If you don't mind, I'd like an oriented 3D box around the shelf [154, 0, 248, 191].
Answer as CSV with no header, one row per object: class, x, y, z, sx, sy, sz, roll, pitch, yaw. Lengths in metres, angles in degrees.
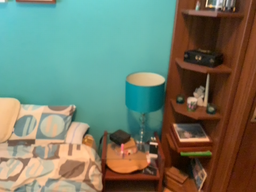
shelf,0.460,-0.350,1.400,0.330,2.340,0.370,0,24,-4
